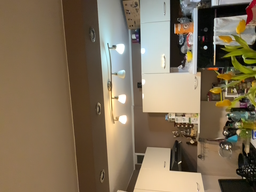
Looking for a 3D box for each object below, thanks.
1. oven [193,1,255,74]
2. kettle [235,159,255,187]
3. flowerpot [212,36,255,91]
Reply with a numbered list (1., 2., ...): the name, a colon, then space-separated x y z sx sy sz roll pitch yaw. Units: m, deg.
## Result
1. oven: 1.110 -0.620 2.360 0.540 0.700 0.670 -44 -47 -73
2. kettle: 1.400 0.890 2.460 0.220 0.220 0.200 -45 -46 -72
3. flowerpot: 0.780 -0.200 1.250 0.370 0.470 0.280 -43 -48 -73
